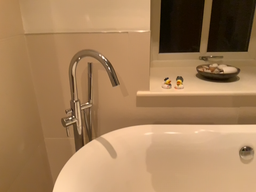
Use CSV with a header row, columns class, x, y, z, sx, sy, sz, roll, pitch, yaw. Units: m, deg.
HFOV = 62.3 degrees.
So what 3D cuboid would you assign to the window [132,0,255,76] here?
class,x,y,z,sx,sy,sz,roll,pitch,yaw
window,0.510,-0.690,1.480,0.960,1.110,0.080,-1,22,1
